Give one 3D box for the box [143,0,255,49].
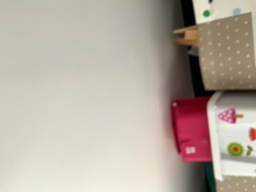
[{"bbox_3d":[0.420,-0.500,1.120,0.600,0.430,0.410,-15,-81,-53],"label":"box"}]
